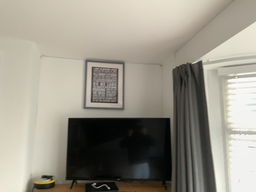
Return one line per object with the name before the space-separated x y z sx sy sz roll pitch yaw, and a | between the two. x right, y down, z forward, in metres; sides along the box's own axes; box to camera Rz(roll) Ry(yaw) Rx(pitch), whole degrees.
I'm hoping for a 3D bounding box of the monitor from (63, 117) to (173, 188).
monitor | -0.090 0.520 2.000 1.000 0.620 0.080 0 -10 2
